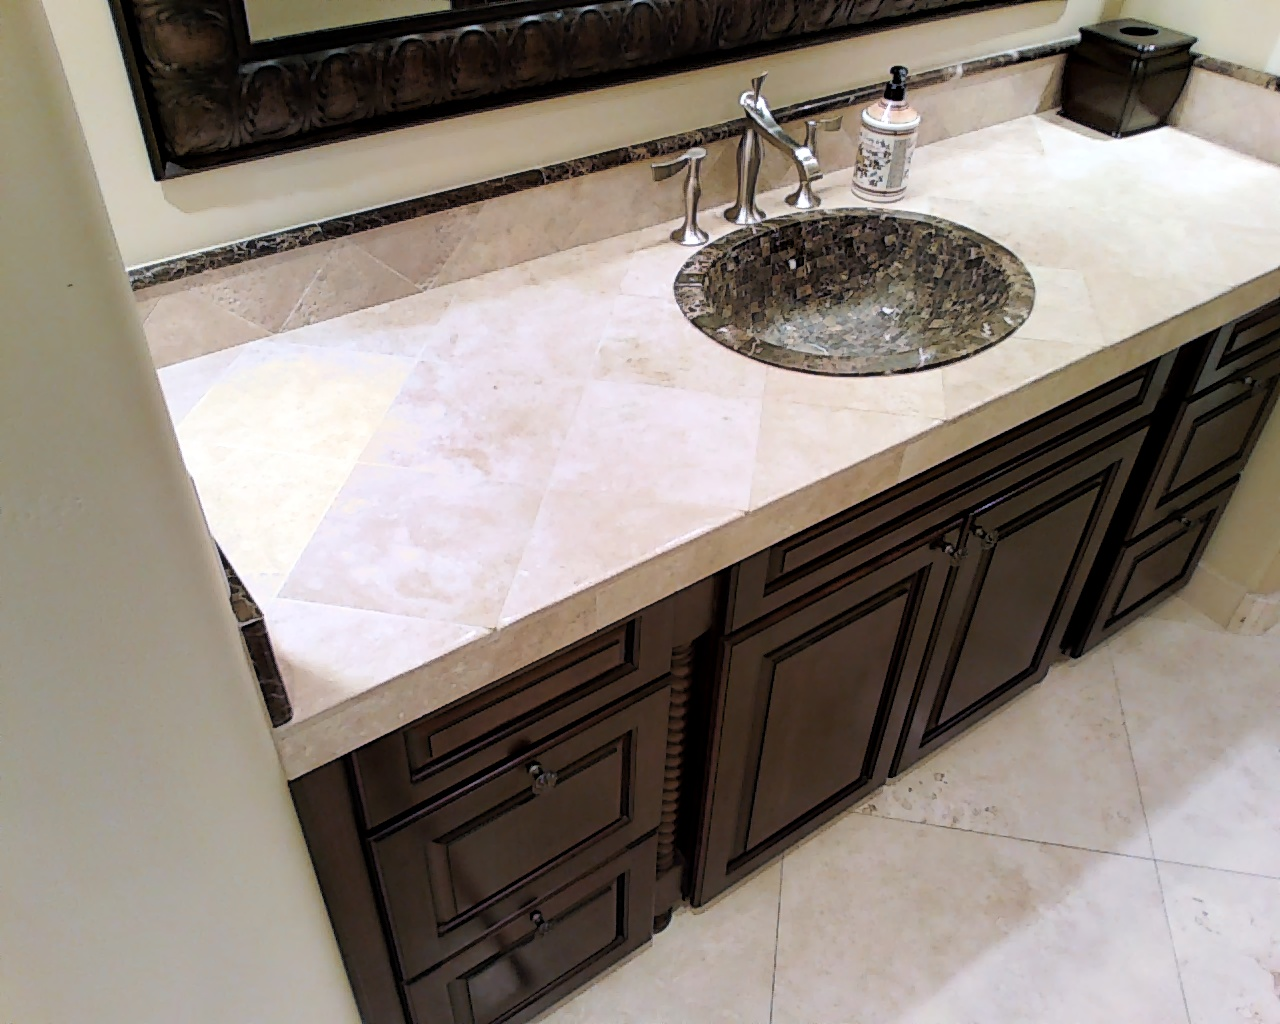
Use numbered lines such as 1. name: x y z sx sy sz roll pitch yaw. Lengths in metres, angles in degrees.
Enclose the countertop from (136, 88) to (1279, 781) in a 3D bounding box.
1. countertop: 0.310 -0.280 1.460 1.740 0.120 0.590 -23 46 -27
